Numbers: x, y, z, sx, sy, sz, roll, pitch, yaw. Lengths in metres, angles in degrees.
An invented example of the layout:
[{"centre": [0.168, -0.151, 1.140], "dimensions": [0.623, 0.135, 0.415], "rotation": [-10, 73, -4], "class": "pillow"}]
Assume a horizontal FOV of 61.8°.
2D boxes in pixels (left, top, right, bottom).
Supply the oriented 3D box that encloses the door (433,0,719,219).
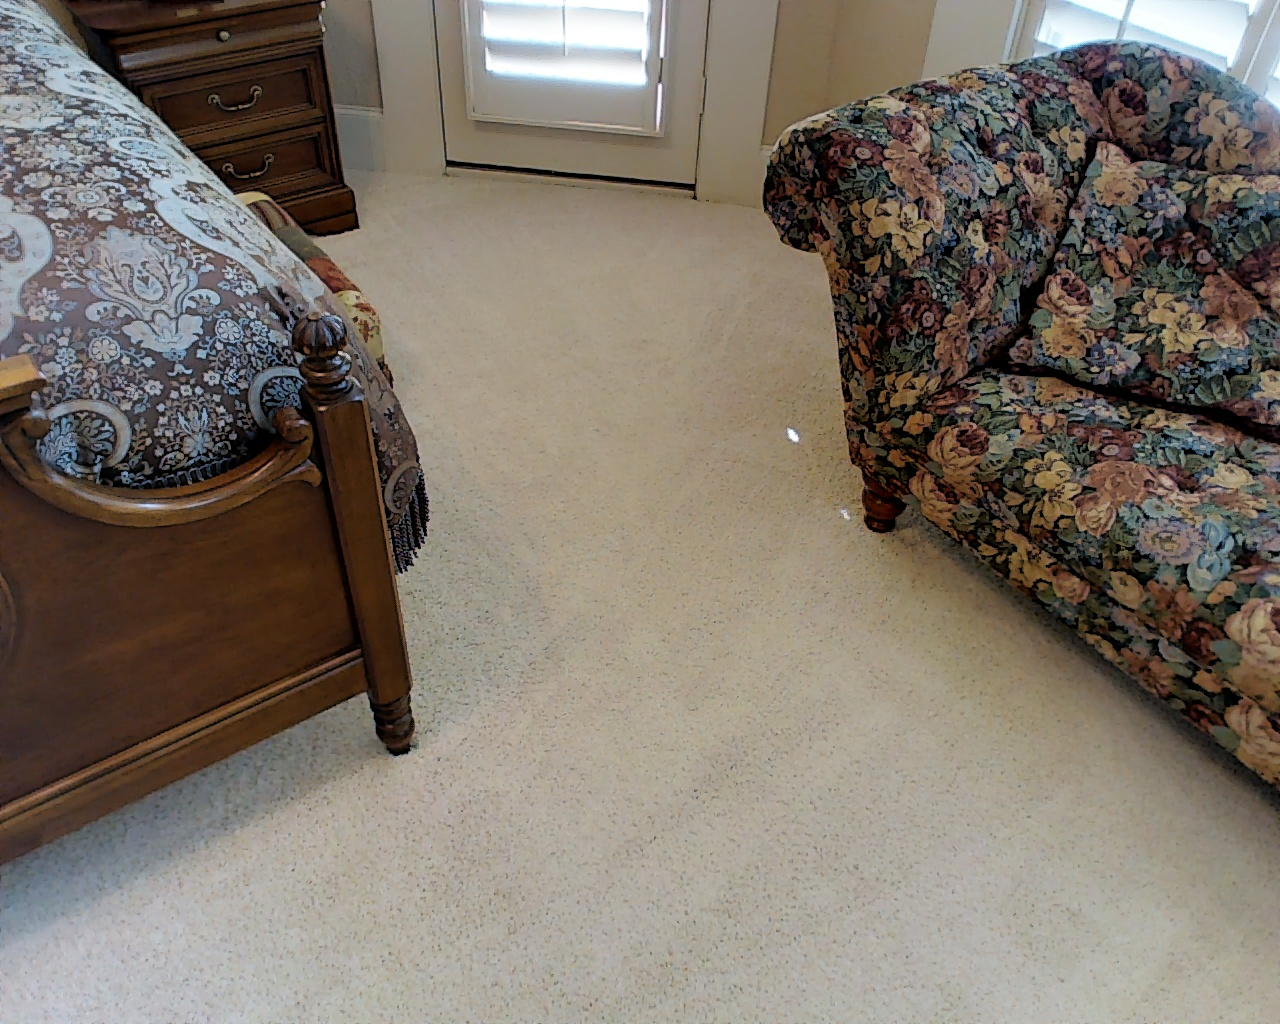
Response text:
[{"centre": [-0.160, -1.960, 2.640], "dimensions": [0.810, 2.510, 0.140], "rotation": [7, 42, 5], "class": "door"}]
